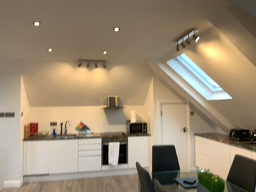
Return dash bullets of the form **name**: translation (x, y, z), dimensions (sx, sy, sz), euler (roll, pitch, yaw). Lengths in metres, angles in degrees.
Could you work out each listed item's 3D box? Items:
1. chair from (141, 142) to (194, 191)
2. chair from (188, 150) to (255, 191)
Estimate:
- **chair**: translation (0.480, 1.170, 2.690), dimensions (0.480, 1.040, 0.530), euler (0, -2, -16)
- **chair**: translation (1.020, 1.160, 2.280), dimensions (0.550, 1.030, 0.460), euler (0, -2, -13)
